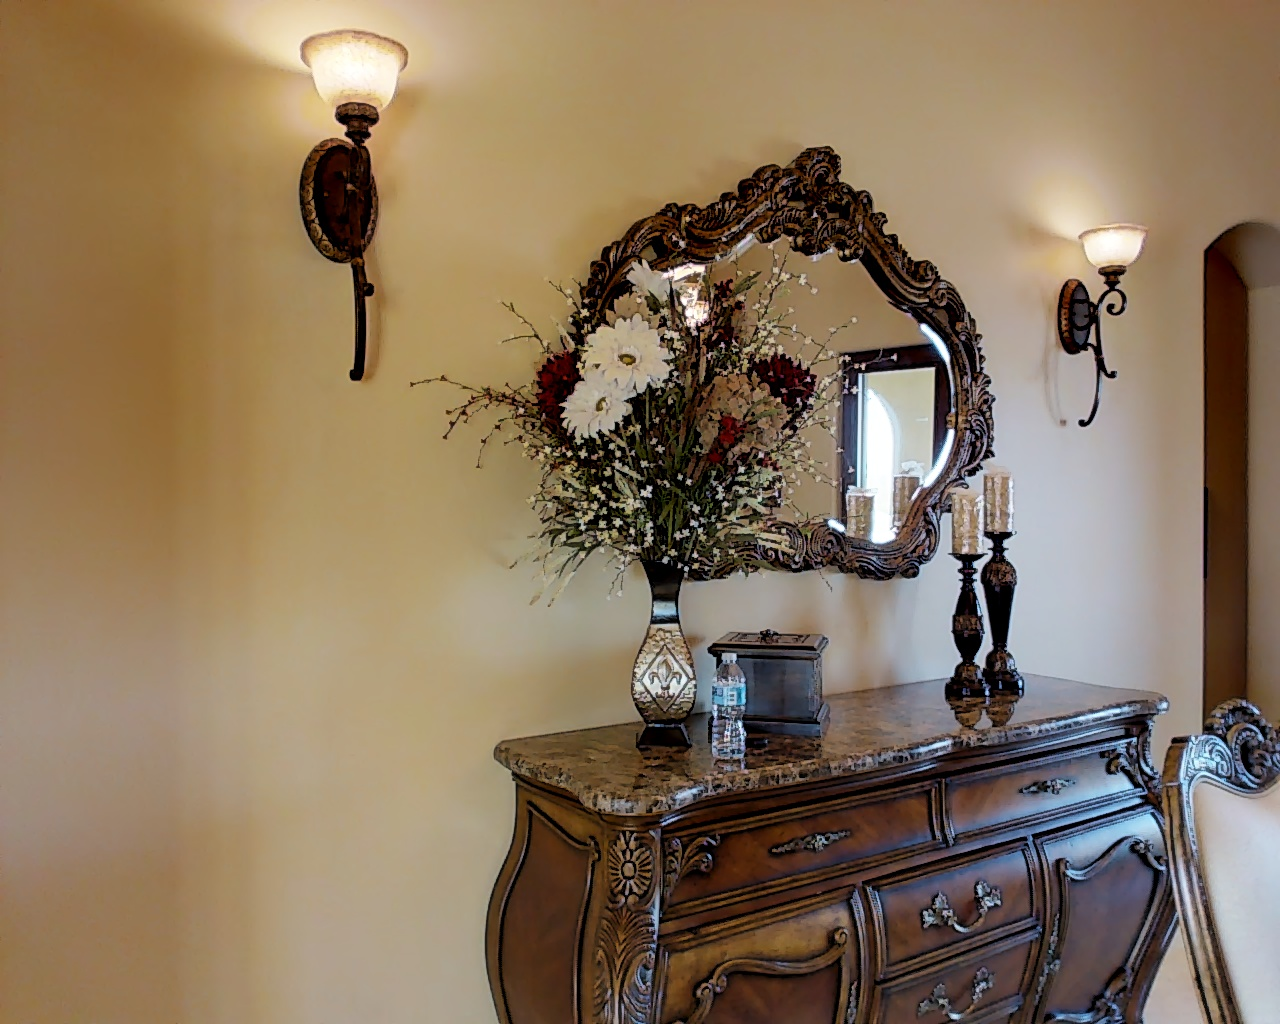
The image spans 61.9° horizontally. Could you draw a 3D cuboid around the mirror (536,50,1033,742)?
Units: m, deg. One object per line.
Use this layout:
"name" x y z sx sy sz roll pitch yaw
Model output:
"mirror" 0.440 -0.240 2.630 1.490 1.400 0.140 -1 1 -34
